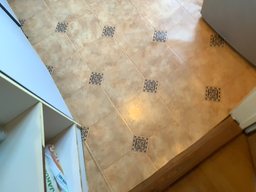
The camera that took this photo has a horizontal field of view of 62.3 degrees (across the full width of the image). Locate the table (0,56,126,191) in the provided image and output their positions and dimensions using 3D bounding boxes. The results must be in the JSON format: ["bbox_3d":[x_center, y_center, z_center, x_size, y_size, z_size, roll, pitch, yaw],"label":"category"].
[{"bbox_3d":[-0.420,0.310,0.770,0.550,0.850,0.450,-36,69,-6],"label":"table"}]
